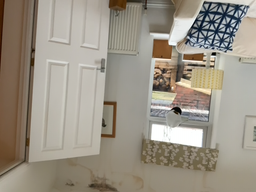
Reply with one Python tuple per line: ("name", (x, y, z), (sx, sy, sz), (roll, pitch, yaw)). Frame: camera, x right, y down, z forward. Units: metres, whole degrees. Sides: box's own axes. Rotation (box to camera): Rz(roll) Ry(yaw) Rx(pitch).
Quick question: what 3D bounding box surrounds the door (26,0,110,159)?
("door", (-0.590, -0.370, 2.220), (0.740, 2.010, 0.040), (3, -176, -33))
